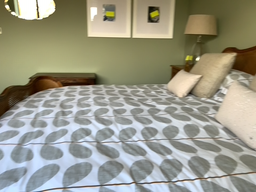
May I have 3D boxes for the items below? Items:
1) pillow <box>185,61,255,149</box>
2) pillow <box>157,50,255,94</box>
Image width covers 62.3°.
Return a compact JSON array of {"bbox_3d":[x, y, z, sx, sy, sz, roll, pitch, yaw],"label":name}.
[{"bbox_3d":[0.790,0.000,1.200,0.720,0.330,0.530,-1,16,-9],"label":"pillow"},{"bbox_3d":[0.700,-0.250,2.050,0.690,0.330,0.560,0,16,-7],"label":"pillow"}]
